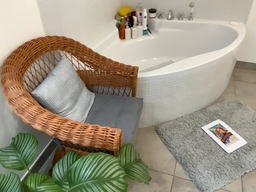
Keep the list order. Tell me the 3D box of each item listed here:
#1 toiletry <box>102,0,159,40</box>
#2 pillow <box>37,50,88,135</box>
[{"bbox_3d":[0.030,-0.910,2.430,0.510,0.300,0.360,-23,44,-24],"label":"toiletry"},{"bbox_3d":[-0.380,-0.010,1.330,0.120,0.370,0.390,18,61,-1],"label":"pillow"}]
